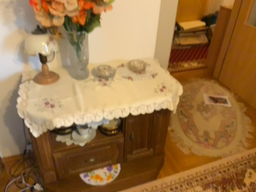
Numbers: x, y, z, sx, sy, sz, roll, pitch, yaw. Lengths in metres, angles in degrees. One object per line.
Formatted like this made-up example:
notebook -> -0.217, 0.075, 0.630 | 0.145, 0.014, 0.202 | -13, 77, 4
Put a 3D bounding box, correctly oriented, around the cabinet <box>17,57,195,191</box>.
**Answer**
cabinet -> -0.170, 0.230, 1.530 | 0.960, 0.770, 0.560 | -9, 36, -19
